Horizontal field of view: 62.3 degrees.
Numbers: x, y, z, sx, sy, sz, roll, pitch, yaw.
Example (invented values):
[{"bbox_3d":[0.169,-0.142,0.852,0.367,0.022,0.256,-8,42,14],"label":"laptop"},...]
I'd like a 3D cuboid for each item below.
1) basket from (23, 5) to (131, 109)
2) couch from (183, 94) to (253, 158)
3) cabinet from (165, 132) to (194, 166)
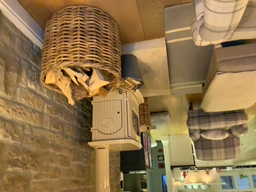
[{"bbox_3d":[-0.330,-0.240,1.650,0.560,0.480,0.610,-7,159,13],"label":"basket"},{"bbox_3d":[1.450,0.560,3.560,0.840,0.840,0.880,-9,159,18],"label":"couch"},{"bbox_3d":[1.550,1.610,6.390,0.710,0.910,0.630,-6,160,11],"label":"cabinet"}]
